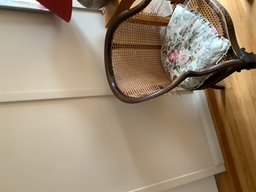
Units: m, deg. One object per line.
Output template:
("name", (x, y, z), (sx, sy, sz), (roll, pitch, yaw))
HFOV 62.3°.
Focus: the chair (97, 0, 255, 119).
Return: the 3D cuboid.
("chair", (0.340, -0.280, 1.230), (0.600, 0.800, 0.560), (-48, 52, 54))
